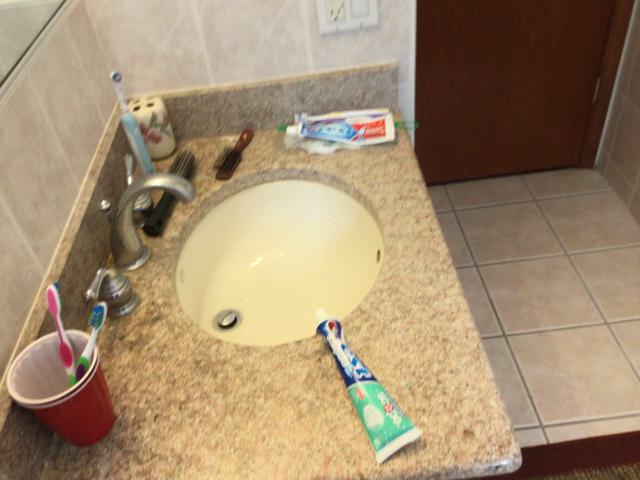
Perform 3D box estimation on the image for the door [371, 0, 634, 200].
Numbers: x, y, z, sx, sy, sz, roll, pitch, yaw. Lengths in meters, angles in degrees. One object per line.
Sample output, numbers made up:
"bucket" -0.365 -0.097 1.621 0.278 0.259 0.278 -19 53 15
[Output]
"door" 0.520 -1.000 1.540 0.800 2.070 0.060 -8 41 1
